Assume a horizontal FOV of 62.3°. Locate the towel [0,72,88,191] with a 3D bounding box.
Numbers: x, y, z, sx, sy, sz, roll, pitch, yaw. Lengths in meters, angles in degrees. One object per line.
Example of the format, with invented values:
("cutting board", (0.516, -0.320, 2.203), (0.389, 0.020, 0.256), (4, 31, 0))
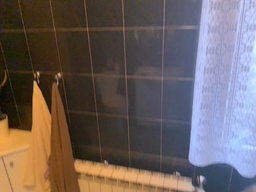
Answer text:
("towel", (-0.510, 0.490, 1.440), (0.360, 1.270, 0.210), (4, 23, 15))
